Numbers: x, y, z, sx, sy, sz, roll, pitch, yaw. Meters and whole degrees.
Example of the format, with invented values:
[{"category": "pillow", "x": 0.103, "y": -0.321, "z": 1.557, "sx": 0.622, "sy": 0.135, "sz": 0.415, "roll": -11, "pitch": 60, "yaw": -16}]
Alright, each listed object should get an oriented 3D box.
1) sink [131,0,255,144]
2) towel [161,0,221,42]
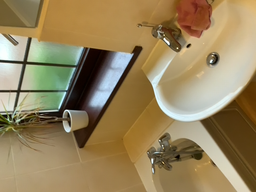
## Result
[{"category": "sink", "x": 0.300, "y": -0.140, "z": 0.900, "sx": 0.570, "sy": 0.170, "sz": 0.430, "roll": -55, "pitch": 50, "yaw": 38}, {"category": "towel", "x": 0.240, "y": -0.340, "z": 0.810, "sx": 0.210, "sy": 0.060, "sz": 0.140, "roll": -56, "pitch": 50, "yaw": 37}]
